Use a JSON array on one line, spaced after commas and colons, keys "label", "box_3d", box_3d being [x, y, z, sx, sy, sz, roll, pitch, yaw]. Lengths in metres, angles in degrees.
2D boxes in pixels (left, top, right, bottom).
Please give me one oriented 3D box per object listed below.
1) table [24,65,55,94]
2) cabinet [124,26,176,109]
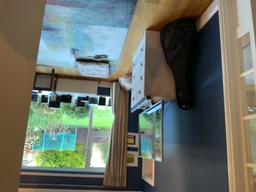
[{"label": "table", "box_3d": [-1.790, -0.330, 4.320, 0.450, 0.470, 0.380, 4, 167, -8]}, {"label": "cabinet", "box_3d": [0.270, -0.330, 2.970, 0.480, 0.870, 0.880, 5, 167, -9]}]
